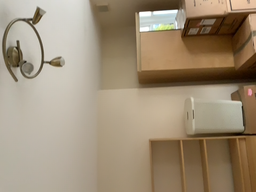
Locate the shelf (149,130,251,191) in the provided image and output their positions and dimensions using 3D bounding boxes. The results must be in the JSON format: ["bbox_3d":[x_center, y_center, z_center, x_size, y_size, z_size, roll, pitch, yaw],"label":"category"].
[{"bbox_3d":[0.800,0.870,2.500,0.330,1.040,0.880,64,-157,-80],"label":"shelf"}]
